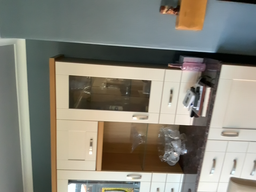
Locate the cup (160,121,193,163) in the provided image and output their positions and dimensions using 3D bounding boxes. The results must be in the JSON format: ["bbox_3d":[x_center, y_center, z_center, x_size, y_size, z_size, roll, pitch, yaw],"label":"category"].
[{"bbox_3d":[0.470,0.450,2.130,0.290,0.210,0.300,-103,18,-73],"label":"cup"}]
